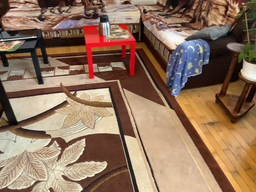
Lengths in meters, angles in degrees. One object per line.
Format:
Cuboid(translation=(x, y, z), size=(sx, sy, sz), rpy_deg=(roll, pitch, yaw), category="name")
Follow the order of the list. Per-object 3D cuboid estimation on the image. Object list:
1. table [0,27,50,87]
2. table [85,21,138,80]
Cuboid(translation=(-1.270, -0.460, 2.440), size=(0.580, 0.440, 0.580), rpy_deg=(-5, 38, -9), category="table")
Cuboid(translation=(-0.230, -0.600, 2.660), size=(0.550, 0.450, 0.680), rpy_deg=(-5, 38, -9), category="table")
